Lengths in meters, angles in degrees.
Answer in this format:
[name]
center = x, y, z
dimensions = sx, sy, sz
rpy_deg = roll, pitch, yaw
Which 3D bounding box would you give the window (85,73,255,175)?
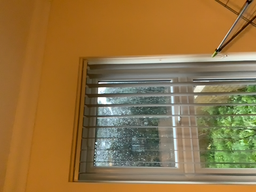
[window]
center = 0.460, 0.200, 1.670
dimensions = 0.060, 1.550, 0.780
rpy_deg = 76, -166, -73
